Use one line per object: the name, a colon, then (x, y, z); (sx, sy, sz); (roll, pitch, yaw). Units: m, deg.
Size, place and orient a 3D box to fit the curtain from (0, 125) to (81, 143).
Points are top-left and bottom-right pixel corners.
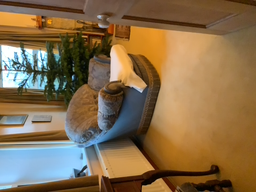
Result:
curtain: (-1.410, 0.460, 2.520); (0.270, 1.630, 0.110); (-156, 68, -70)
